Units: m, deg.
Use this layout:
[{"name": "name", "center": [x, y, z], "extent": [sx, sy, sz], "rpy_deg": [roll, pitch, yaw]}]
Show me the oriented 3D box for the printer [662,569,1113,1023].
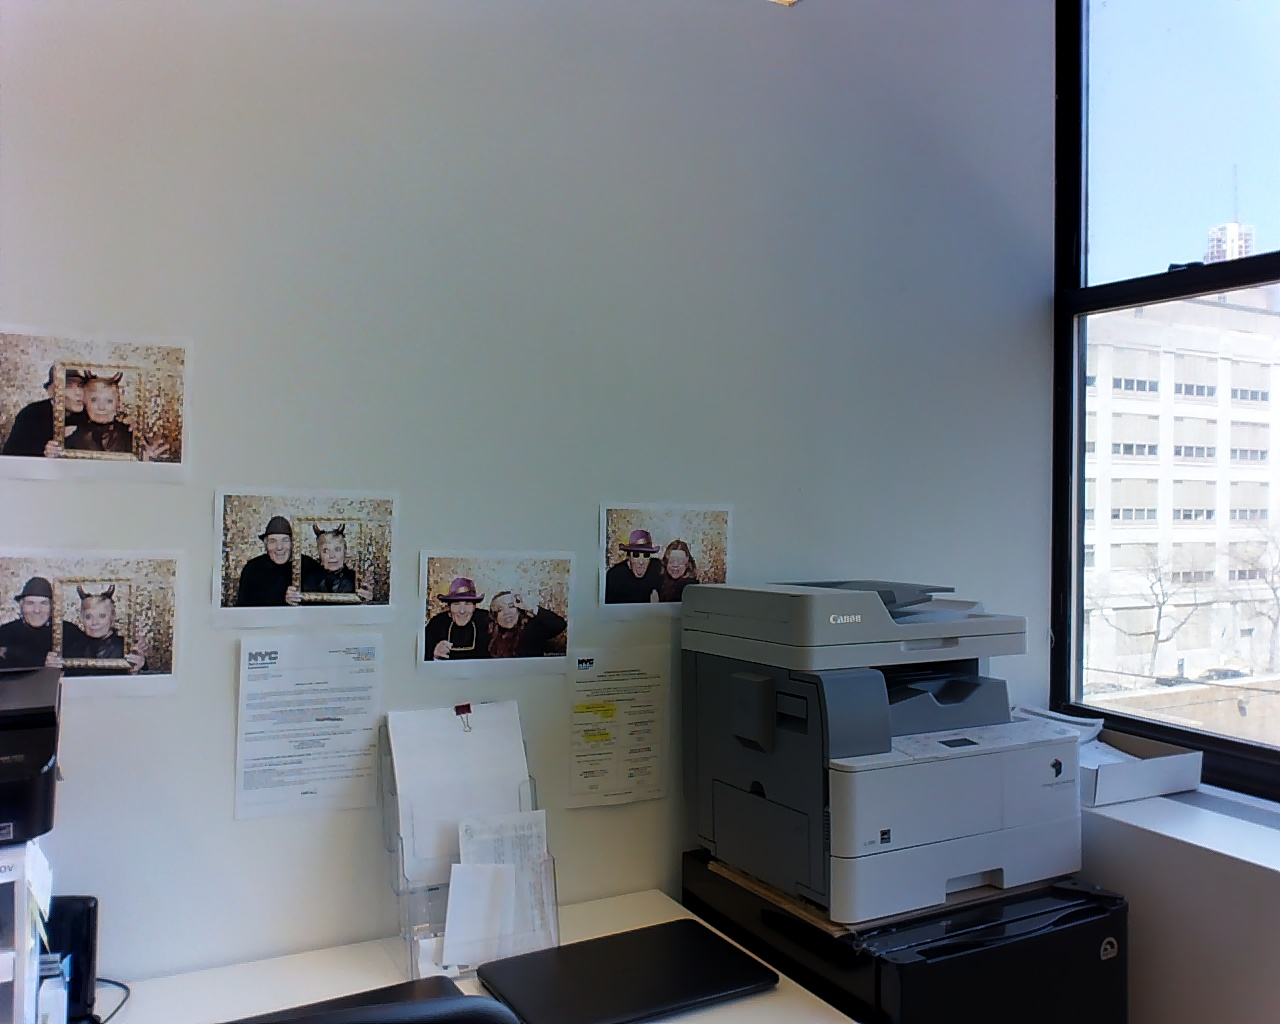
[{"name": "printer", "center": [0.400, 0.420, 1.850], "extent": [0.500, 0.600, 0.570], "rpy_deg": [0, 0, -29]}]
